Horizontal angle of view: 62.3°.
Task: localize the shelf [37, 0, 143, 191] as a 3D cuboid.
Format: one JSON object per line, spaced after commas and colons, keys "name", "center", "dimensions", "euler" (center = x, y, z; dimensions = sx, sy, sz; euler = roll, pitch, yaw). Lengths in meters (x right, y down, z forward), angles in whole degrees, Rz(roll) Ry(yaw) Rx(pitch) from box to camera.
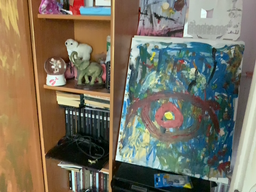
{"name": "shelf", "center": [-0.180, 0.190, 1.170], "dimensions": [0.360, 1.900, 0.350], "euler": [8, 18, 15]}
